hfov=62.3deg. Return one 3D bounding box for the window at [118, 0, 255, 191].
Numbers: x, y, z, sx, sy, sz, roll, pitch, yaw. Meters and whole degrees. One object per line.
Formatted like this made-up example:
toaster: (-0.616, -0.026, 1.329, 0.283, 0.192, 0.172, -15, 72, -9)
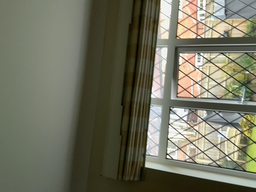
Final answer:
window: (0.870, -0.180, 1.710, 0.520, 1.620, 1.660, 28, -112, -69)
